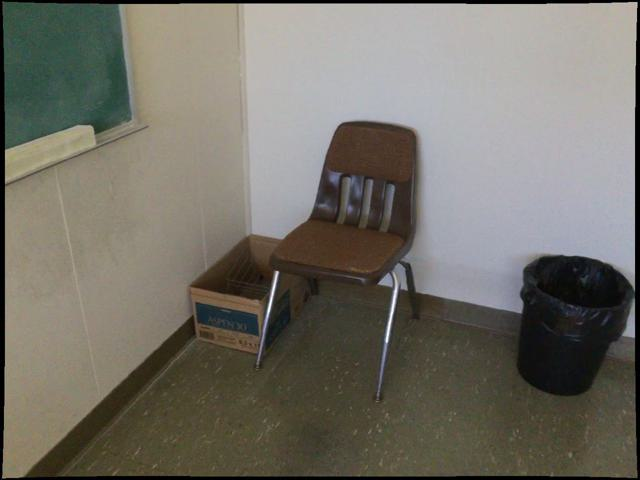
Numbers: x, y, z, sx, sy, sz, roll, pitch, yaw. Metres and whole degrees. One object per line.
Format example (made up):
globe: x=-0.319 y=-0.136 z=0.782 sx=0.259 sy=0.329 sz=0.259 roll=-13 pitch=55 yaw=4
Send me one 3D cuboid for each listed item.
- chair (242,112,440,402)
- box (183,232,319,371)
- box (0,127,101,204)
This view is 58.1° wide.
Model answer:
chair: x=0.090 y=0.030 z=2.040 sx=0.479 sy=0.782 sz=0.560 roll=11 pitch=30 yaw=18
box: x=-0.249 y=0.221 z=2.280 sx=0.329 sy=0.271 sz=0.490 roll=11 pitch=30 yaw=18
box: x=-0.648 y=-0.180 z=1.330 sx=0.080 sy=0.070 sz=0.310 roll=11 pitch=30 yaw=18
